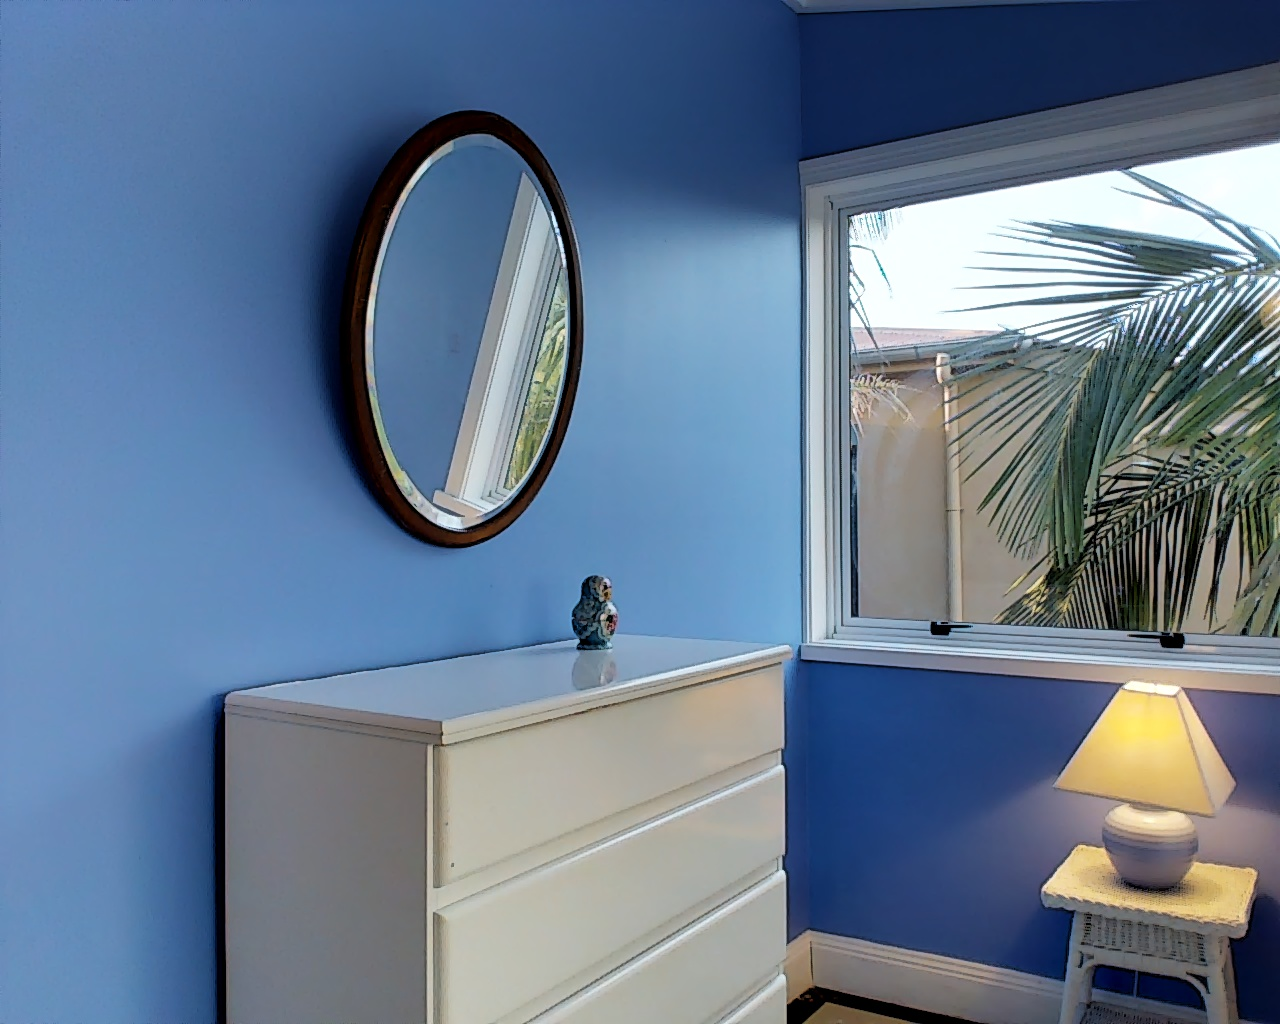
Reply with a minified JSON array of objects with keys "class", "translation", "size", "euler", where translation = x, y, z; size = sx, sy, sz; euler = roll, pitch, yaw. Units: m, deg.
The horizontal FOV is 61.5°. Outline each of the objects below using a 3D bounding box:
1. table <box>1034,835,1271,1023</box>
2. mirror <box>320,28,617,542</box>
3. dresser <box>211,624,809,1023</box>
[{"class":"table","translation":[1.090,1.020,2.270],"size":[0.400,0.510,0.420],"euler":[-1,-1,33]},{"class":"mirror","translation":[-0.260,-0.320,1.800],"size":[0.140,0.730,0.570],"euler":[-1,-1,34]},{"class":"dresser","translation":[-0.130,0.750,1.690],"size":[0.430,1.050,0.930],"euler":[-1,-1,34]}]
